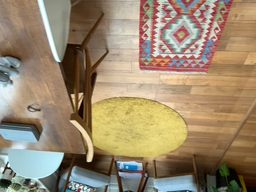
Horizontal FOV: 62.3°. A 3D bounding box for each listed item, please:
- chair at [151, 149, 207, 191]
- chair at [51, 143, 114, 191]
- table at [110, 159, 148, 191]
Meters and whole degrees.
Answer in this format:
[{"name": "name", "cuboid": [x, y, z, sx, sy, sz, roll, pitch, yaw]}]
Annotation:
[{"name": "chair", "cuboid": [0.750, 1.320, 3.020, 0.560, 0.760, 0.770, -17, 135, 25]}, {"name": "chair", "cuboid": [-0.710, 1.280, 3.160, 0.560, 0.730, 0.870, 26, 135, -22]}, {"name": "table", "cuboid": [0.030, 1.330, 3.340, 0.540, 0.460, 0.470, 3, 139, 3]}]
